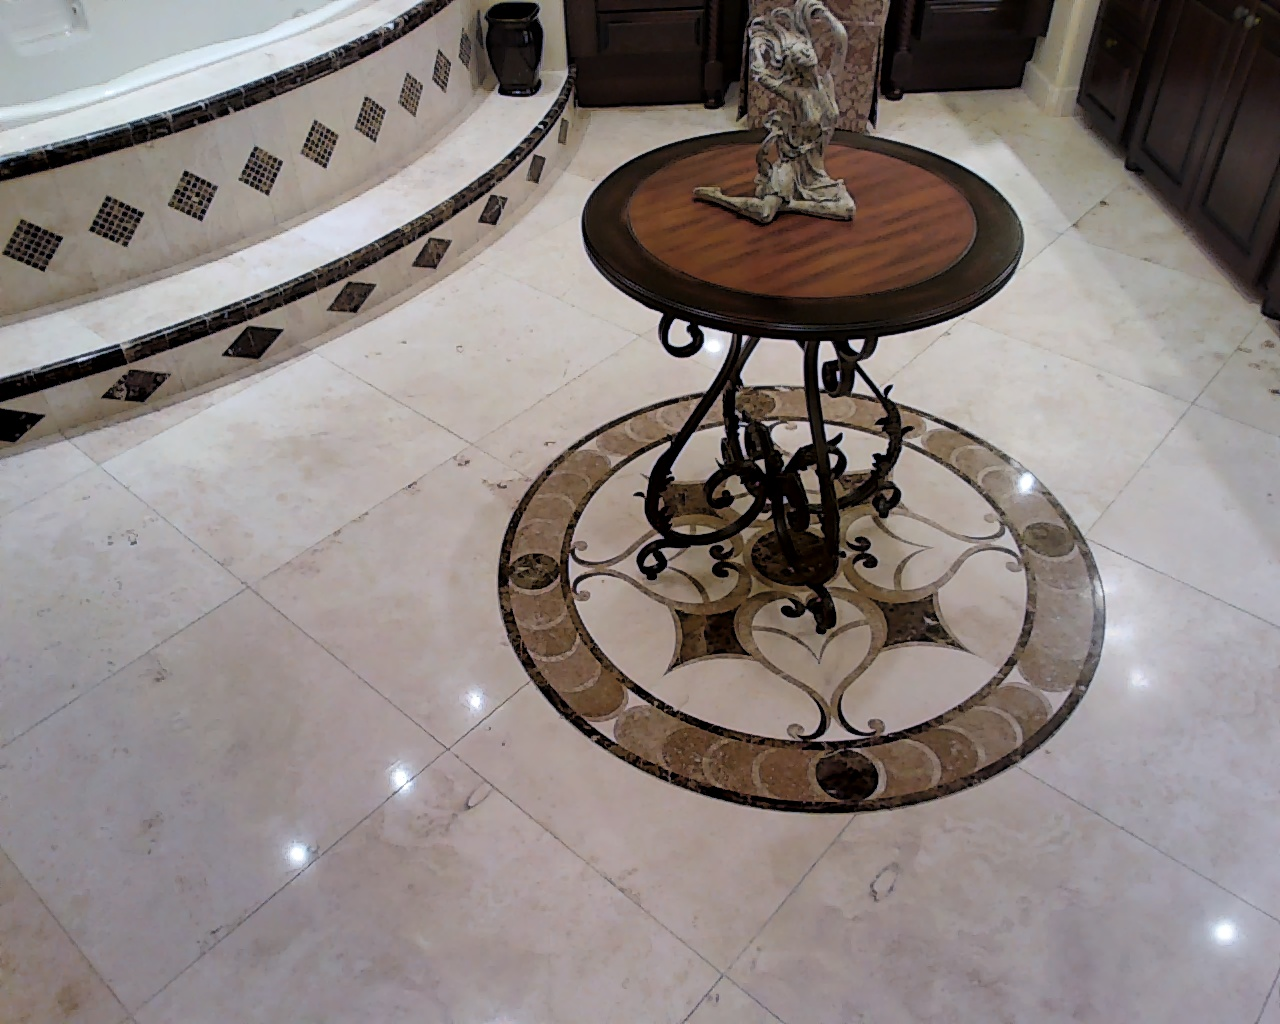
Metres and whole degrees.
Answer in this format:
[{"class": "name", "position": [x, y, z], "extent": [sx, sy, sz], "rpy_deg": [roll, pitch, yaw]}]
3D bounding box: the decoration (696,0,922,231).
[{"class": "decoration", "position": [0.250, -0.640, 1.670], "extent": [0.250, 0.280, 0.210], "rpy_deg": [-19, 46, -19]}]

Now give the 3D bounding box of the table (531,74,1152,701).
[{"class": "table", "position": [0.280, -0.260, 2.000], "extent": [0.750, 0.740, 0.760], "rpy_deg": [-13, 44, -12]}]
